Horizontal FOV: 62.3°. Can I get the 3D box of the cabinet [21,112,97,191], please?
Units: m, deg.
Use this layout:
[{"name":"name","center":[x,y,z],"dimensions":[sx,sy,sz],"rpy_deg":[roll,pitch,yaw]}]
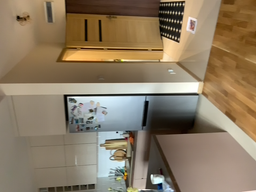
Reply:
[{"name":"cabinet","center":[-1.100,0.980,3.670],"dimensions":[0.320,1.110,1.420],"rpy_deg":[-110,22,-63]}]
